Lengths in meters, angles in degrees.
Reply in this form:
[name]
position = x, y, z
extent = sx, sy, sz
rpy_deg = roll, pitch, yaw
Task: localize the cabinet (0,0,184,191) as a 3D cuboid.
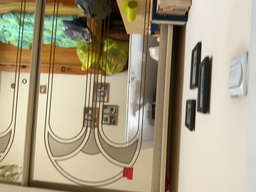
[cabinet]
position = -1.020, -0.360, 1.770
extent = 2.790, 2.100, 0.650
rpy_deg = 3, 179, 6
